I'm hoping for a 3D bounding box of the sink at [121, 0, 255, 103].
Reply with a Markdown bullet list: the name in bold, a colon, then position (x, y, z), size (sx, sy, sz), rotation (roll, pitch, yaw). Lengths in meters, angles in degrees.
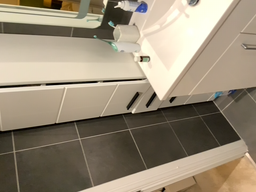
- **sink**: position (0.230, -0.390, 0.860), size (0.450, 0.120, 0.770), rotation (63, 144, 31)
